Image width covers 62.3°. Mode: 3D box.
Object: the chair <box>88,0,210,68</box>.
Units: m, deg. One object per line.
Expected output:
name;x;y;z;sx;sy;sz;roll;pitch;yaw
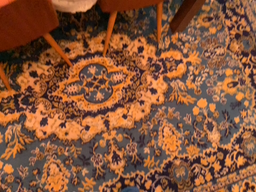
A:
chair;0.050;-0.550;1.060;0.400;0.780;0.510;-15;81;-12

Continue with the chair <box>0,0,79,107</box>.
chair;-0.540;-0.330;0.910;0.410;0.800;0.510;-25;83;-13
